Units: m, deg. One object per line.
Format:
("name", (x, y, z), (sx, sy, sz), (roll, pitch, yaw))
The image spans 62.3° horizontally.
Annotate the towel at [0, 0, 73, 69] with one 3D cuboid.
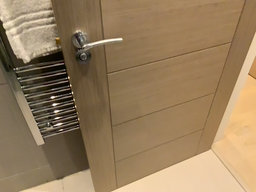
("towel", (-0.300, -0.310, 0.600), (0.190, 0.420, 0.150), (-14, 44, -15))
